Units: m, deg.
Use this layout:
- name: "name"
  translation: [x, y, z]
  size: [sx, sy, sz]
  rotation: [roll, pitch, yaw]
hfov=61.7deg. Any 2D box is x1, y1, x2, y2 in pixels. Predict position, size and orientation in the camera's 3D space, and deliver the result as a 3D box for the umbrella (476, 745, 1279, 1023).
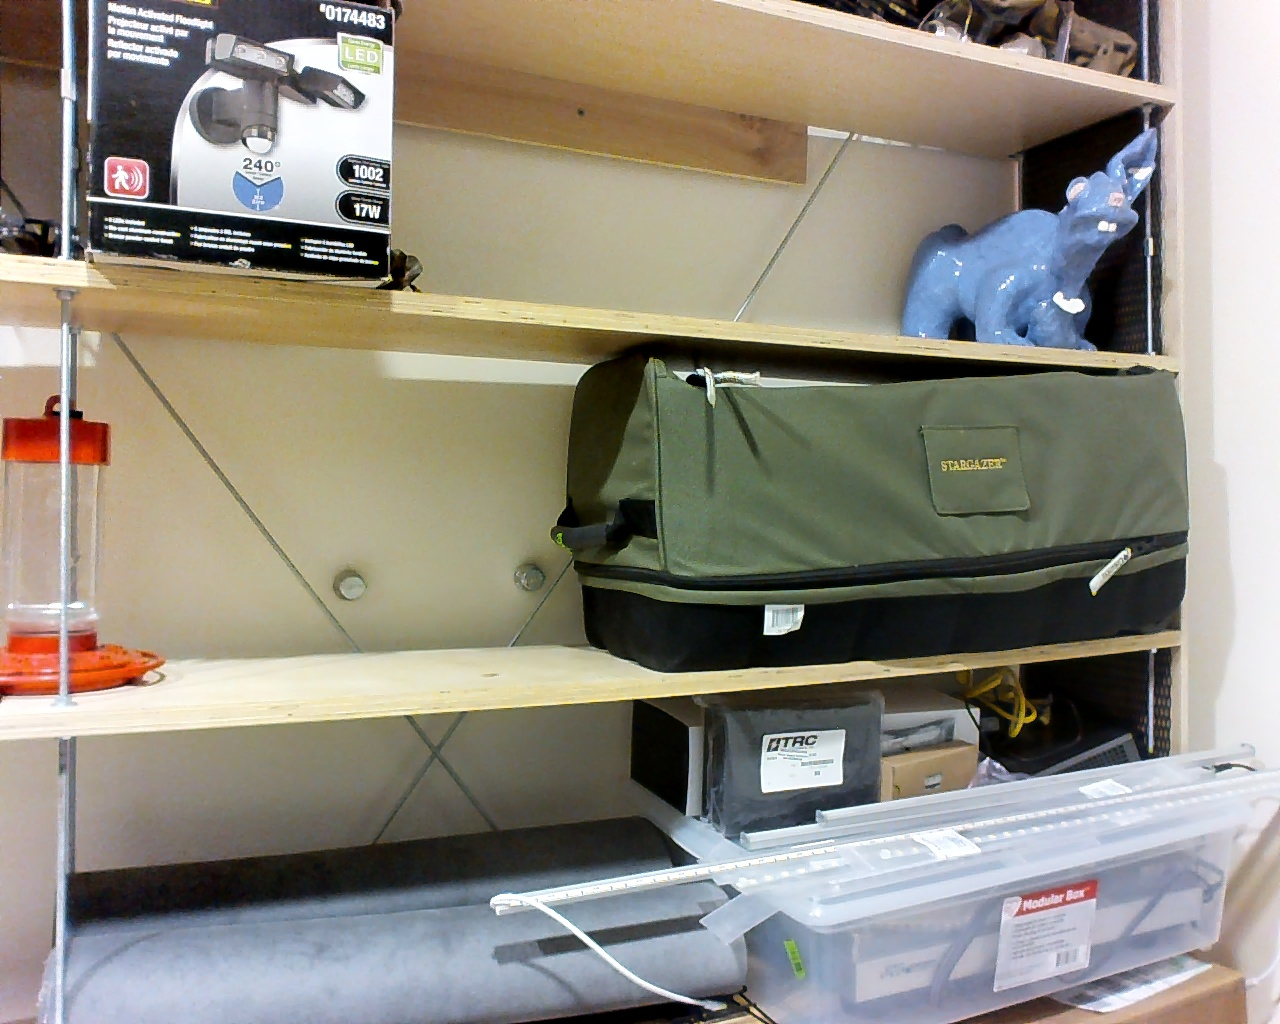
- name: "umbrella"
  translation: [0.310, 0.400, 1.070]
  size: [0.930, 0.220, 0.160]
  rotation: [0, 0, -26]
